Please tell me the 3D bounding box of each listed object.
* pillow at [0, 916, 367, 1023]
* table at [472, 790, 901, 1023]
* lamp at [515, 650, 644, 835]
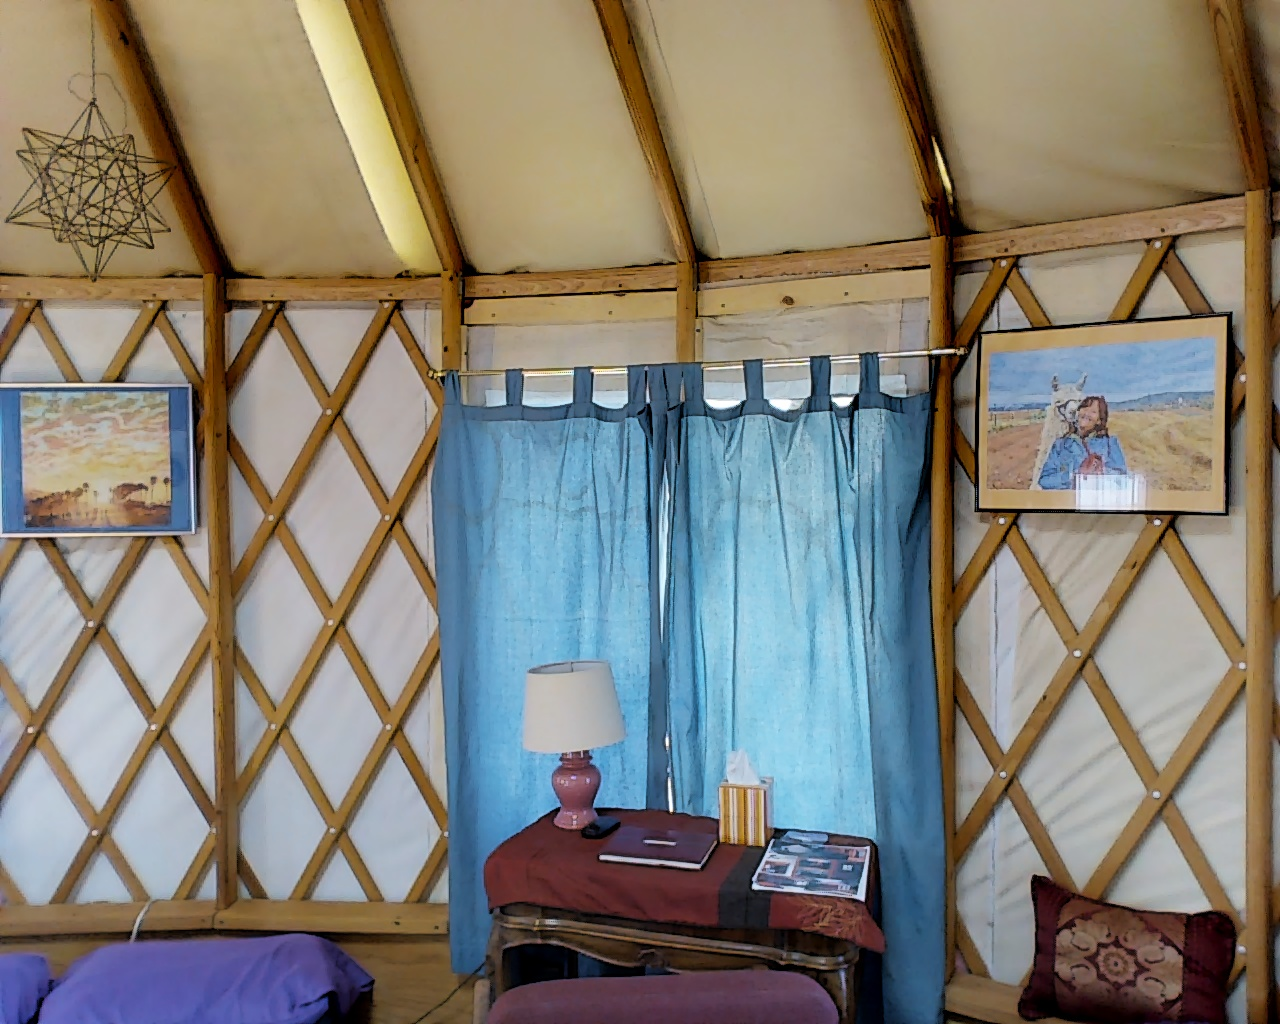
[{"bbox_3d":[-1.400,1.170,2.480,1.390,0.210,0.650,0,1,-2],"label":"pillow"},{"bbox_3d":[0.130,1.100,2.440,0.870,0.750,0.510,0,1,16],"label":"table"},{"bbox_3d":[-0.140,0.540,2.590,0.250,0.380,0.240,0,1,14],"label":"lamp"}]
